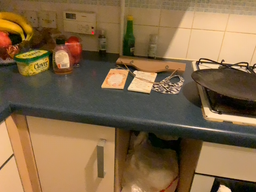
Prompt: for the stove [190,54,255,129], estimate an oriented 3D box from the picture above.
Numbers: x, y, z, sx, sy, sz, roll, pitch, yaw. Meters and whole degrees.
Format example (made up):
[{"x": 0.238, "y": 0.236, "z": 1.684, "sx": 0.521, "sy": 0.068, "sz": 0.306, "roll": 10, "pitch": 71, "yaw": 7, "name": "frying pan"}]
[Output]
[{"x": 0.550, "y": -0.030, "z": 0.780, "sx": 0.580, "sy": 0.030, "sz": 0.550, "roll": 7, "pitch": 29, "yaw": 7, "name": "stove"}]
